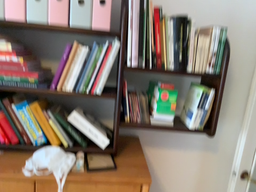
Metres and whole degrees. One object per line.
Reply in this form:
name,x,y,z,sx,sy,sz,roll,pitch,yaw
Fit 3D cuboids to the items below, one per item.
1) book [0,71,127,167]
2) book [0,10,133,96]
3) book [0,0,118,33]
book,-0.370,0.090,1.010,0.670,0.320,0.340,5,13,-7
book,-0.370,-0.200,0.960,0.720,0.280,0.310,4,13,-9
book,-0.330,-0.470,0.850,0.590,0.340,0.290,5,13,-4
